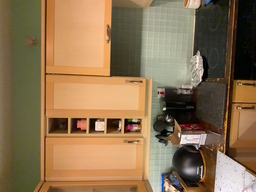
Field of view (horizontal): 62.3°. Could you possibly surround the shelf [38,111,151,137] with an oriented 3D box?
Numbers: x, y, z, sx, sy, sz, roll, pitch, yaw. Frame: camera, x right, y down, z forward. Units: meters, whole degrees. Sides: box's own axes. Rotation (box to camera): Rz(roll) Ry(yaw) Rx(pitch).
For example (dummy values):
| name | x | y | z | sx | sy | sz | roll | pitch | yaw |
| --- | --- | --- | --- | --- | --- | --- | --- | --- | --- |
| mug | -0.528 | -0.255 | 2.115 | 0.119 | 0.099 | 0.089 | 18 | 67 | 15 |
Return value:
| name | x | y | z | sx | sy | sz | roll | pitch | yaw |
| --- | --- | --- | --- | --- | --- | --- | --- | --- | --- |
| shelf | -0.250 | 0.220 | 1.710 | 0.310 | 0.820 | 0.140 | -149 | 60 | -82 |
